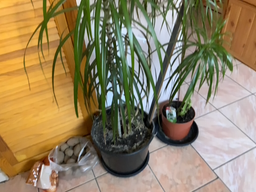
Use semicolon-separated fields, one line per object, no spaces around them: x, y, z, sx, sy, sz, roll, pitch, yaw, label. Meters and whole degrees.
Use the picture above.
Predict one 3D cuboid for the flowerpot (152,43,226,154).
0.310;0.040;1.220;0.240;0.590;0.220;-18;44;-15;flowerpot
